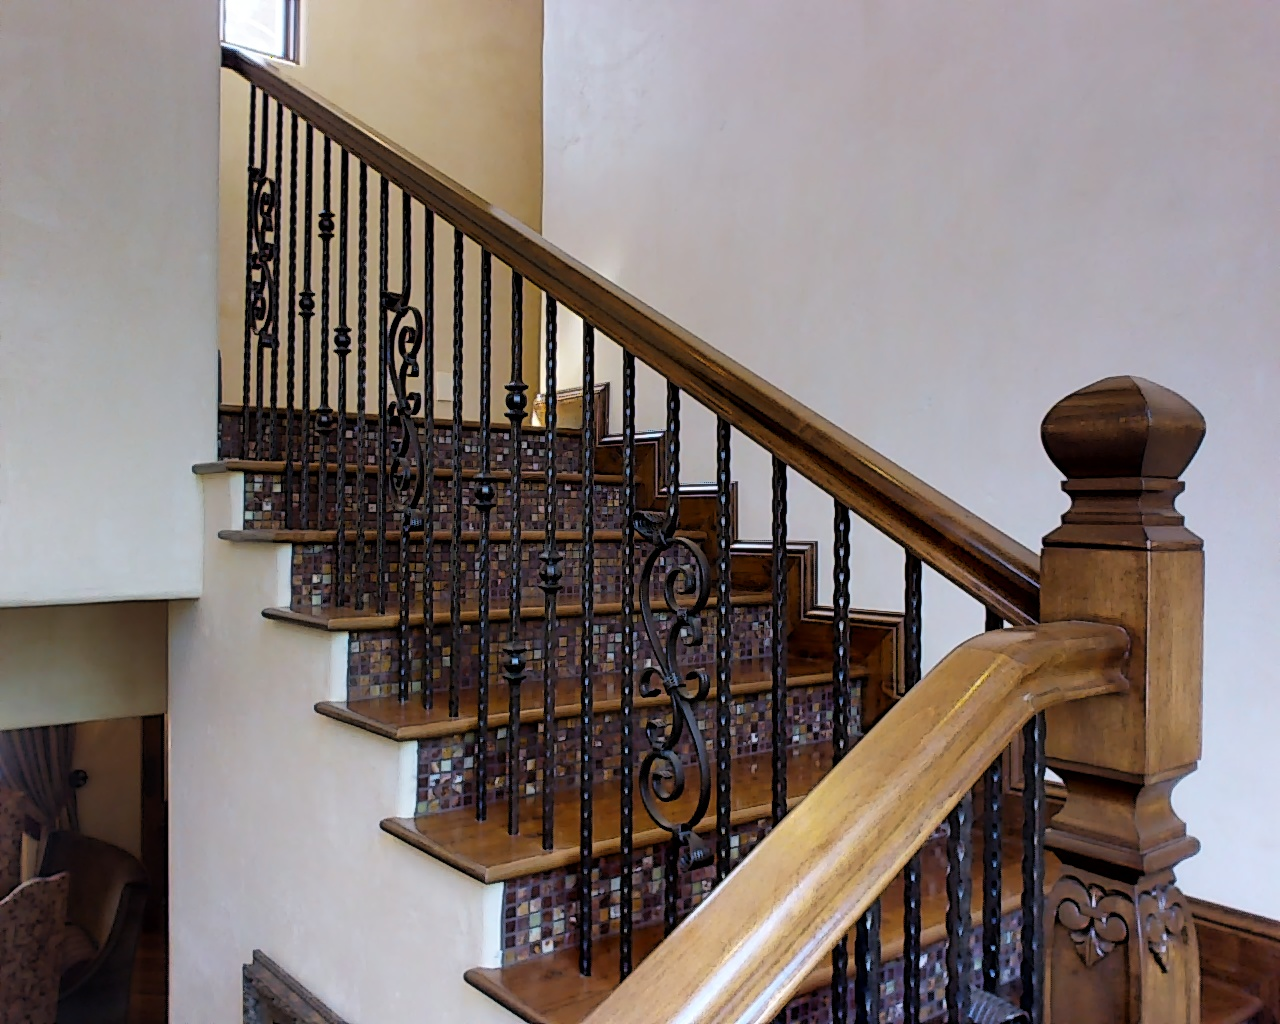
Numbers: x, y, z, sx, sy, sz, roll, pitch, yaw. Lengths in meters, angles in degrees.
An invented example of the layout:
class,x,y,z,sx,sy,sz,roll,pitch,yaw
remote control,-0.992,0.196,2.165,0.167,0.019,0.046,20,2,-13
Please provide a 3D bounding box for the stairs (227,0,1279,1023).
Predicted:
class,x,y,z,sx,sy,sz,roll,pitch,yaw
stairs,0.070,0.310,2.300,1.010,1.480,2.770,0,0,-38

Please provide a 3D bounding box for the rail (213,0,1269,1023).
class,x,y,z,sx,sy,sz,roll,pitch,yaw
rail,-0.290,-0.060,1.870,0.080,2.410,2.520,0,0,-39
